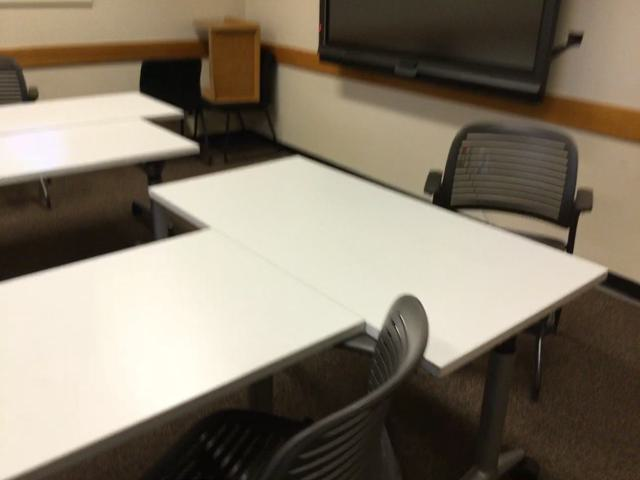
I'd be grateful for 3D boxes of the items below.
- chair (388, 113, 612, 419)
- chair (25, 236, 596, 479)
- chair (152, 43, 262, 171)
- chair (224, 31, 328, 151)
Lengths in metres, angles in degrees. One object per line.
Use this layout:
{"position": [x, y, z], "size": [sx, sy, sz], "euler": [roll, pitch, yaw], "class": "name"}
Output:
{"position": [0.650, 0.040, 2.110], "size": [0.600, 0.860, 0.600], "euler": [10, 25, 24], "class": "chair"}
{"position": [-0.060, 0.510, 1.060], "size": [0.620, 0.740, 0.700], "euler": [-16, 27, -32], "class": "chair"}
{"position": [-0.820, -0.990, 4.200], "size": [0.510, 0.780, 0.640], "euler": [-15, 26, -31], "class": "chair"}
{"position": [-0.330, -1.170, 4.450], "size": [0.570, 0.790, 0.570], "euler": [-14, 26, -29], "class": "chair"}
